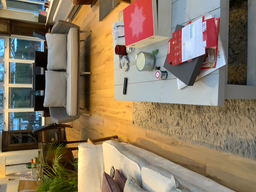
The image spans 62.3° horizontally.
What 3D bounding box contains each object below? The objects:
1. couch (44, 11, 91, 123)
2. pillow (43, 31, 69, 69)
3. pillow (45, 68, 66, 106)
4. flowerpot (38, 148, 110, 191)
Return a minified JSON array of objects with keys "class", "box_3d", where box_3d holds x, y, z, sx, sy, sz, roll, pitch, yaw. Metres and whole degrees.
[{"class":"couch","box_3d":[-1.230,-0.510,4.210,0.870,0.750,1.910,7,96,64]},{"class":"pillow","box_3d":[-1.430,-0.910,4.220,0.150,0.450,0.720,-27,-62,-86]},{"class":"pillow","box_3d":[-1.450,-0.170,4.250,0.150,0.390,0.740,-170,81,-80]},{"class":"flowerpot","box_3d":[-0.800,1.150,3.110,0.590,0.910,0.550,3,92,64]}]
